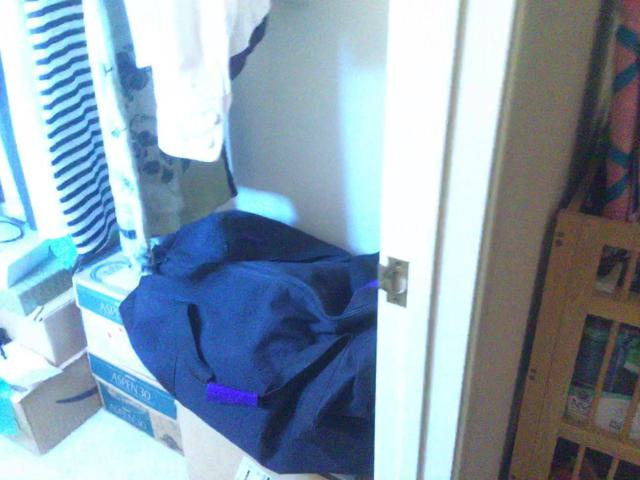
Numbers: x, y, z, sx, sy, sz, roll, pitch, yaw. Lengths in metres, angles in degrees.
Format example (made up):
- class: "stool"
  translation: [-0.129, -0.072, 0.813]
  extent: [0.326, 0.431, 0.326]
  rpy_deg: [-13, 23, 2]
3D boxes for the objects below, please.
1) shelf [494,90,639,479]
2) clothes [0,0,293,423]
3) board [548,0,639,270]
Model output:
- class: "shelf"
  translation: [0.710, 0.170, 1.390]
  extent: [0.350, 0.820, 0.780]
  rpy_deg: [12, 34, 26]
- class: "clothes"
  translation: [-0.820, -0.430, 1.260]
  extent: [1.370, 1.310, 0.430]
  rpy_deg: [12, 34, 26]
- class: "board"
  translation: [0.570, -0.280, 1.070]
  extent: [0.160, 0.560, 0.330]
  rpy_deg: [12, 34, 26]
